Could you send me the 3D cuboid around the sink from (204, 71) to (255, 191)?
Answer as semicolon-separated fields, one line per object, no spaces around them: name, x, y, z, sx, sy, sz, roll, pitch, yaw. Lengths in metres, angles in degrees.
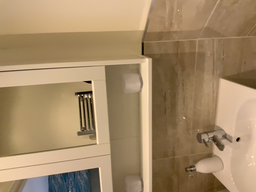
sink;0.560;0.220;0.930;0.450;0.180;0.580;-130;36;-70
